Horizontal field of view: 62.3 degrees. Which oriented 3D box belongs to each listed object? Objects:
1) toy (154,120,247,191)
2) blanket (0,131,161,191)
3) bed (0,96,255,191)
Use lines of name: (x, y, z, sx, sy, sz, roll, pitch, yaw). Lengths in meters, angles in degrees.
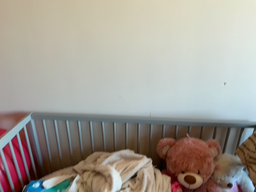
toy: (0.330, 0.380, 1.110, 0.360, 0.420, 0.260, 2, 25, 4)
blanket: (-0.220, 0.540, 1.060, 0.730, 0.410, 0.630, 2, 25, 4)
bed: (0.060, 0.560, 1.020, 1.390, 0.850, 0.730, 2, 25, 4)
